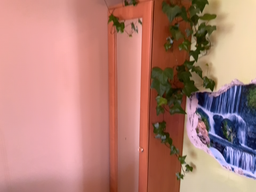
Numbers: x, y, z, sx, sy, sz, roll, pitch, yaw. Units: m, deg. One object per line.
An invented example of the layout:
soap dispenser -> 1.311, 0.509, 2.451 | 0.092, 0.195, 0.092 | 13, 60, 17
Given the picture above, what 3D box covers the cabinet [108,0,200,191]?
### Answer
cabinet -> 0.130, 0.290, 1.670 | 0.370, 1.860, 0.510 | -8, 18, -33
